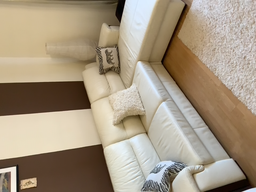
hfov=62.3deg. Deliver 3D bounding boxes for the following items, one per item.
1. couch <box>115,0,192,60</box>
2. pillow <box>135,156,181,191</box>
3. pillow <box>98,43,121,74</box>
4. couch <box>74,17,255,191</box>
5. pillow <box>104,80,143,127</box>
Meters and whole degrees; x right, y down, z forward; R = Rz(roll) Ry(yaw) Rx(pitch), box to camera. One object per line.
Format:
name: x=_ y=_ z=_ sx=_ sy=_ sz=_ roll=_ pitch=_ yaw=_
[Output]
couch: x=0.240 y=-0.990 z=2.620 sx=0.810 sy=0.420 sz=0.740 roll=63 pitch=146 yaw=39
pillow: x=0.250 y=0.740 z=1.900 sx=0.380 sy=0.180 sz=0.280 roll=-54 pitch=46 yaw=53
pillow: x=-0.270 y=-0.540 z=3.080 sx=0.180 sy=0.300 sz=0.380 roll=115 pitch=158 yaw=-81
couch: x=0.060 y=0.120 z=2.630 sx=2.580 sy=0.870 sz=0.940 roll=64 pitch=146 yaw=39
pillow: x=-0.040 y=0.080 z=2.570 sx=0.260 sy=0.390 sz=0.470 roll=91 pitch=-174 yaw=-48
